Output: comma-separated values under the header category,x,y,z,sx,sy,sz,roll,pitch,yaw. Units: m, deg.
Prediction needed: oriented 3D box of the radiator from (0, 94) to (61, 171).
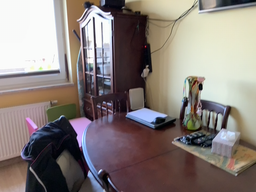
category,x,y,z,sx,sy,sz,roll,pitch,yaw
radiator,-1.400,0.450,2.450,1.150,0.760,0.170,-11,18,-36

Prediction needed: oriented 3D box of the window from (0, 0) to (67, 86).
category,x,y,z,sx,sy,sz,roll,pitch,yaw
window,-1.460,-0.730,2.490,1.380,1.180,0.200,-11,18,-36
